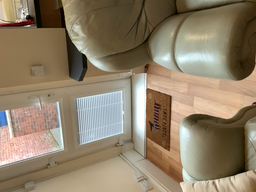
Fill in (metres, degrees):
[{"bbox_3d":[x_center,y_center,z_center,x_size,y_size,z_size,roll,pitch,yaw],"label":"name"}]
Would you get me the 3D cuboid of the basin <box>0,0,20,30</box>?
[{"bbox_3d":[-1.430,-1.040,2.550,0.270,0.150,0.460,21,118,56],"label":"basin"}]
